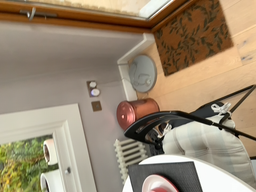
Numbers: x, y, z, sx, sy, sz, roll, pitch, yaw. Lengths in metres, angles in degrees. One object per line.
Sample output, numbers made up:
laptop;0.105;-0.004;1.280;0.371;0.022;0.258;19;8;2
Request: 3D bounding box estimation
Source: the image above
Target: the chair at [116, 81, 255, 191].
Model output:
chair;0.420;0.250;1.160;0.470;0.740;0.460;-33;71;49
